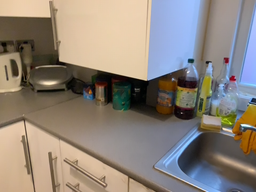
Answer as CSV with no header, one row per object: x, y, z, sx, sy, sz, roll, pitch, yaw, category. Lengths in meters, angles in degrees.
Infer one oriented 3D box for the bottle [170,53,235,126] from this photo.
0.420,-0.060,1.180,0.180,0.310,0.360,17,24,36,bottle

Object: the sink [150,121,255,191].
0.400,0.320,0.840,0.430,0.170,0.480,16,24,34,sink
